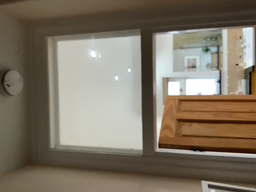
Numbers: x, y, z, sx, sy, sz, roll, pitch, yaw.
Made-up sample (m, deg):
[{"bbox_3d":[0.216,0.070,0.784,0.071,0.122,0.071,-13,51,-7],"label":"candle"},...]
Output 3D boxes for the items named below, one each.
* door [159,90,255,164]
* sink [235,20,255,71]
[{"bbox_3d":[1.180,0.150,1.250,0.750,1.910,0.090,-60,-32,-62],"label":"door"},{"bbox_3d":[1.850,-0.770,3.360,0.460,0.170,0.690,3,-92,-76],"label":"sink"}]
